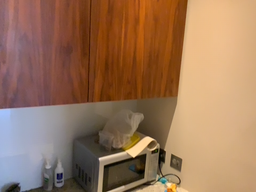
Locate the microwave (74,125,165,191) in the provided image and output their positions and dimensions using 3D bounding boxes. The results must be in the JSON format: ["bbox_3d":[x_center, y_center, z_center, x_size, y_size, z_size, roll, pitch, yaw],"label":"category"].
[{"bbox_3d":[-0.050,0.390,1.320,0.460,0.280,0.300,-4,13,-40],"label":"microwave"}]
